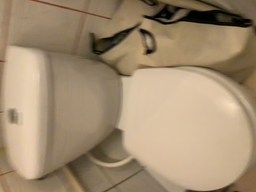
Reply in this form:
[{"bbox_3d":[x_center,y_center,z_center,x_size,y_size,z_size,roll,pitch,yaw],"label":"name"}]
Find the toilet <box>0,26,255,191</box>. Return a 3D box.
[{"bbox_3d":[0.090,0.050,0.750,0.640,0.770,0.400,9,101,41],"label":"toilet"}]
